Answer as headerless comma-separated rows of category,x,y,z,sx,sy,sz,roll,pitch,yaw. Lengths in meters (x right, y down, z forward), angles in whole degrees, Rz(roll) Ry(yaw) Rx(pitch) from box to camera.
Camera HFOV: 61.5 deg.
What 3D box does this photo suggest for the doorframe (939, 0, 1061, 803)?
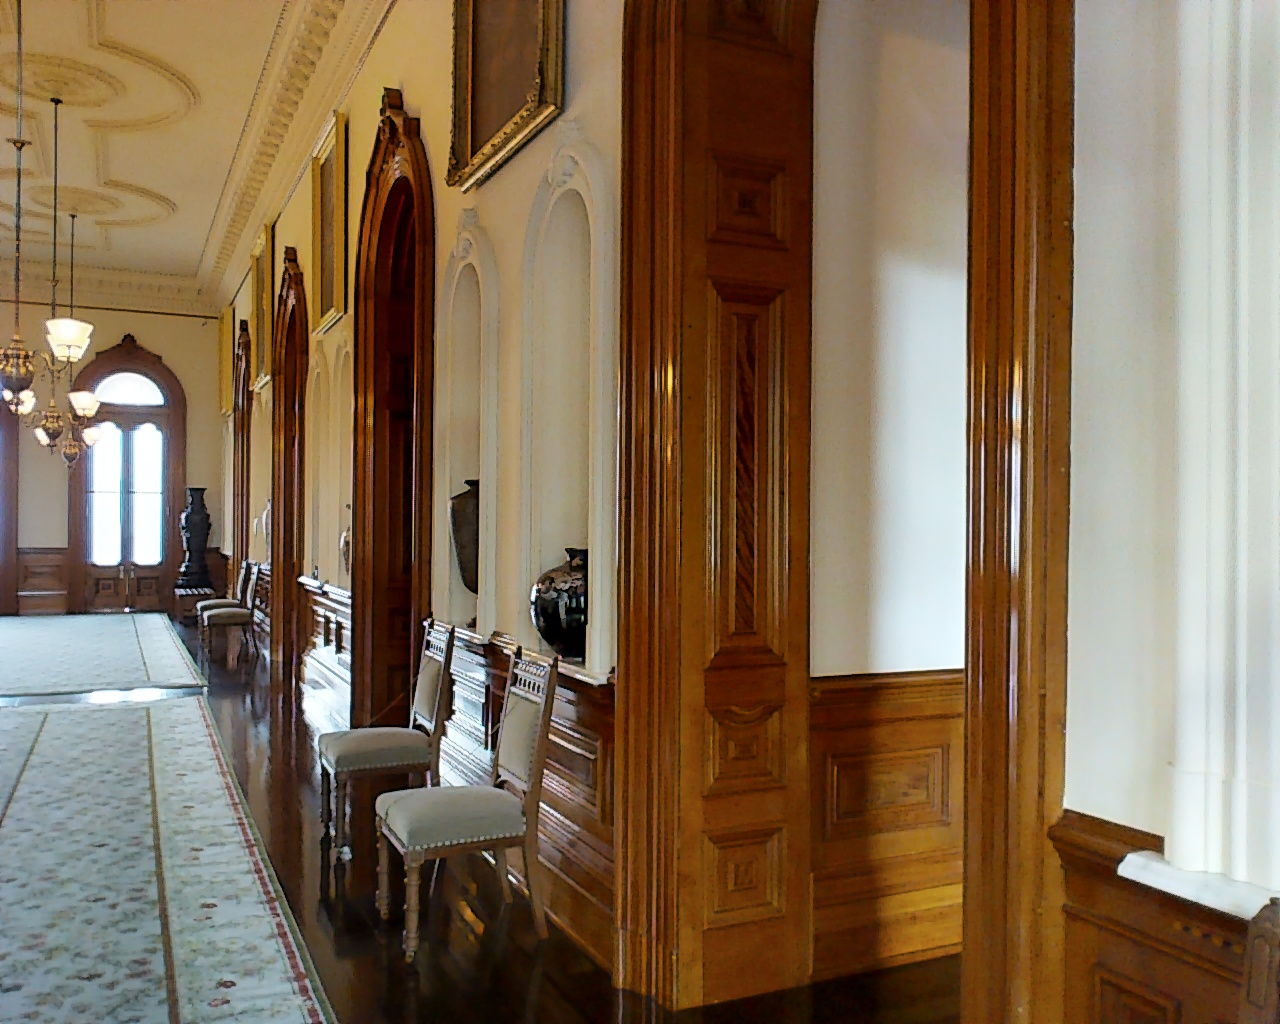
doorframe,0.720,-0.880,2.170,0.090,2.860,0.240,0,-1,-25
